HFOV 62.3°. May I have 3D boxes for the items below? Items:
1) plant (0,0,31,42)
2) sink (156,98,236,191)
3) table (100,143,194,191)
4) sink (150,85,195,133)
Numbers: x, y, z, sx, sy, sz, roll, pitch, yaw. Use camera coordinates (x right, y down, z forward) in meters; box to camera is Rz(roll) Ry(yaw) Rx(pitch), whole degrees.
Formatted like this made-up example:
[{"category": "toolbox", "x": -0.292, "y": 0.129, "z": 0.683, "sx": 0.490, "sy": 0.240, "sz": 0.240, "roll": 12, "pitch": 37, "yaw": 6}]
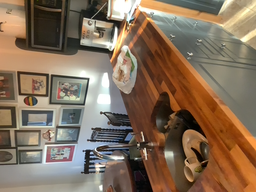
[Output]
[{"category": "plant", "x": -1.180, "y": -0.750, "z": 1.890, "sx": 0.210, "sy": 0.550, "sz": 0.400, "roll": -108, "pitch": 29, "yaw": -44}, {"category": "sink", "x": 0.320, "y": 0.260, "z": 1.120, "sx": 0.300, "sy": 0.120, "sz": 0.400, "roll": -110, "pitch": 30, "yaw": -46}, {"category": "table", "x": 0.160, "y": 1.240, "z": 2.790, "sx": 1.290, "sy": 0.740, "sz": 1.060, "roll": 139, "pitch": 131, "yaw": -62}, {"category": "sink", "x": 0.260, "y": 0.080, "z": 1.290, "sx": 0.200, "sy": 0.130, "sz": 0.210, "roll": -110, "pitch": 30, "yaw": -46}]
